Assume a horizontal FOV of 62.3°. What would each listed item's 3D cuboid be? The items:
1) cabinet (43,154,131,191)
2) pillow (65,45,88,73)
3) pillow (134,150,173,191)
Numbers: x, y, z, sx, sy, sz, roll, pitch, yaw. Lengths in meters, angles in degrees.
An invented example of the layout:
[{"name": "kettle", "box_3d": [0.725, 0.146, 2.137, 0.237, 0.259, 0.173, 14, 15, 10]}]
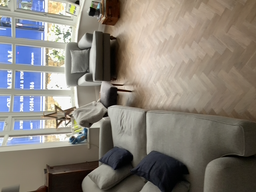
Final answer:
[{"name": "cabinet", "box_3d": [-0.590, 1.150, 3.130, 0.420, 1.210, 0.380, 180, 91, -65]}, {"name": "pillow", "box_3d": [-1.030, -0.730, 4.220, 0.090, 0.440, 0.540, 2, -89, -67]}, {"name": "pillow", "box_3d": [0.200, 0.540, 1.550, 0.460, 0.240, 0.140, -12, -76, -79]}]
